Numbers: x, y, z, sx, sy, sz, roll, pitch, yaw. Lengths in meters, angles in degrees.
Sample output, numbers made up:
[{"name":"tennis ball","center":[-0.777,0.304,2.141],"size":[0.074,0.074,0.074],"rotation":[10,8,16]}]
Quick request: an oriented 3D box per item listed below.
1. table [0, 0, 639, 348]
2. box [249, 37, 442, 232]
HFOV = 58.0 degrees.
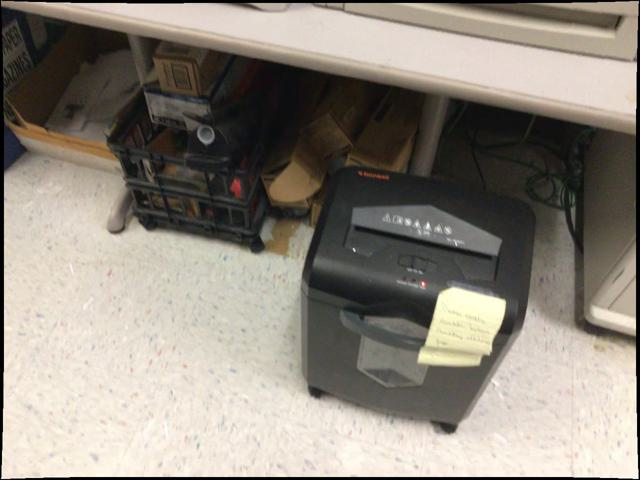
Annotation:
[{"name":"table","center":[-0.120,-0.391,1.400],"size":[1.567,0.711,0.731],"rotation":[11,54,8]},{"name":"box","center":[0.070,-0.271,1.480],"size":[0.399,0.290,0.320],"rotation":[11,54,8]}]
